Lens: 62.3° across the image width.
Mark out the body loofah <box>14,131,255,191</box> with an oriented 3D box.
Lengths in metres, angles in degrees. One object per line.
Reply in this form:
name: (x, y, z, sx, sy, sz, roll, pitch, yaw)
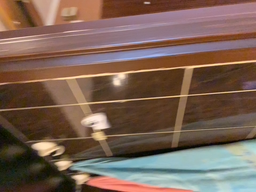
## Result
body loofah: (0.340, 0.310, 0.800, 0.290, 1.420, 0.230, 79, -172, -53)
